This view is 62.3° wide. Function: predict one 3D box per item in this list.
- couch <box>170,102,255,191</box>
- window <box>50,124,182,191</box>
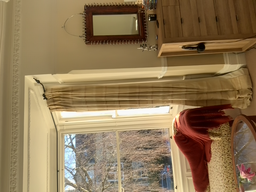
[{"bbox_3d":[1.150,0.920,2.990,0.710,0.790,1.540,114,153,-80],"label":"couch"},{"bbox_3d":[-0.210,1.190,3.580,0.260,2.100,1.290,111,156,-79],"label":"window"}]
